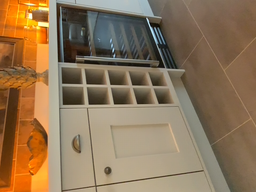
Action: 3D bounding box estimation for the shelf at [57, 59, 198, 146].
[{"bbox_3d":[-0.050,0.070,1.560,0.580,0.860,0.310,118,146,-50],"label":"shelf"}]
